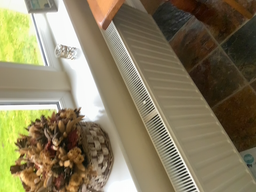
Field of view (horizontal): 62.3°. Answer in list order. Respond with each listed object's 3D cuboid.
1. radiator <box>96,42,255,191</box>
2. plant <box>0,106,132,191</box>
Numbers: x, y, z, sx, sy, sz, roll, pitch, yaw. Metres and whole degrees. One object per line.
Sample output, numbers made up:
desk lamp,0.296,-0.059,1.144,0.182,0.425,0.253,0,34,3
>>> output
radiator,0.360,0.280,0.950,0.190,0.640,1.140,-47,57,35
plant,-0.280,0.280,0.890,0.330,0.370,0.340,-45,58,36
